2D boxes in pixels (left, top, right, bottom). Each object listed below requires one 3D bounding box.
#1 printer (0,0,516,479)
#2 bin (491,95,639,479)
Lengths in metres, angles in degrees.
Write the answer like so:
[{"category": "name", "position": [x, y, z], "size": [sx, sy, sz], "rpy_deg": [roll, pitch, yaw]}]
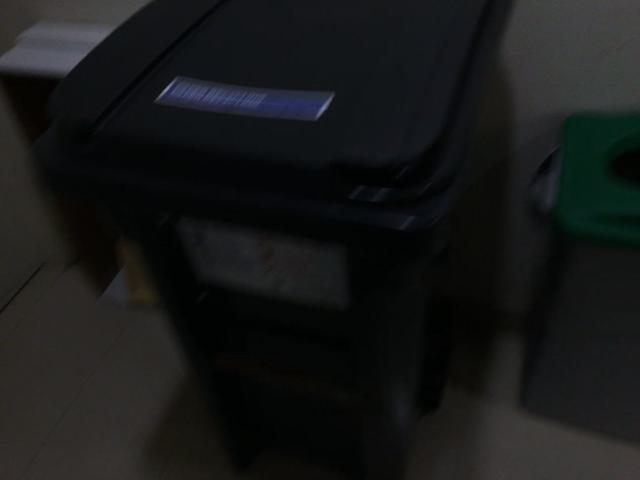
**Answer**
[{"category": "printer", "position": [0.030, 0.050, 1.000], "size": [0.480, 0.940, 0.590], "rpy_deg": [7, 43, 19]}, {"category": "bin", "position": [0.630, 0.130, 1.040], "size": [0.550, 0.680, 0.290], "rpy_deg": [7, 43, 19]}]
